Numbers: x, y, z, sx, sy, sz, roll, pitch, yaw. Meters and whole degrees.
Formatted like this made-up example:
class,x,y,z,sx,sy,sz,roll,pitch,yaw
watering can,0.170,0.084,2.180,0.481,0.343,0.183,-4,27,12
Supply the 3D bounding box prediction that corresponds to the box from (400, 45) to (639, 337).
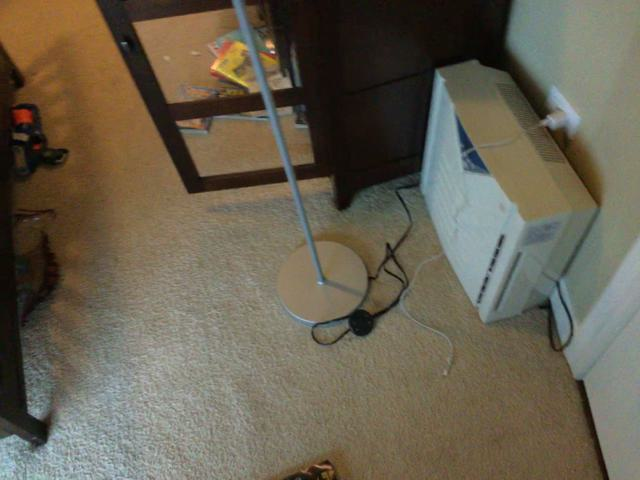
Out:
class,x,y,z,sx,sy,sz,roll,pitch,yaw
box,0.420,-0.110,1.380,0.240,0.420,0.500,-18,59,-9
